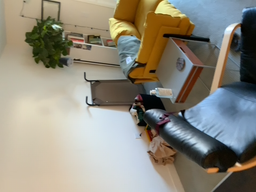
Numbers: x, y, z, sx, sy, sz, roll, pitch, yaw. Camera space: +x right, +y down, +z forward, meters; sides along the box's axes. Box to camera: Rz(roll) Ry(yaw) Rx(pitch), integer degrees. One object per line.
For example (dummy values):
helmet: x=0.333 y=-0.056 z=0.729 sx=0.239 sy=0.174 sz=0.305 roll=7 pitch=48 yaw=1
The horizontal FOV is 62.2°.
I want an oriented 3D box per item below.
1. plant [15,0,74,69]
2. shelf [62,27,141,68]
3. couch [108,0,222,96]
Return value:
plant: x=-1.390 y=-1.060 z=3.660 sx=0.850 sy=0.810 sz=0.720 roll=-105 pitch=27 yaw=-45
shelf: x=-0.530 y=-0.950 z=4.210 sx=0.440 sy=1.460 sz=0.440 roll=-107 pitch=28 yaw=-47
couch: x=0.300 y=-0.890 z=2.830 sx=1.580 sy=0.780 sz=0.900 roll=-106 pitch=27 yaw=-45
